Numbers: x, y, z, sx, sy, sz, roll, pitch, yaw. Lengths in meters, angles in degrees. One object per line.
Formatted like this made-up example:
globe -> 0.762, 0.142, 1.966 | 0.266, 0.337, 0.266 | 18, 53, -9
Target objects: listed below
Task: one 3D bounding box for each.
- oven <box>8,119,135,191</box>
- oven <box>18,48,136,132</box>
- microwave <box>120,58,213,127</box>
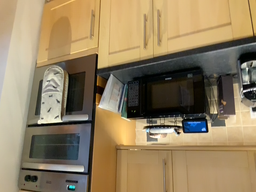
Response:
oven -> -0.370, 0.460, 1.600 | 0.630, 0.450, 0.630 | -7, 163, 27
oven -> -0.360, 0.020, 1.710 | 0.630, 0.460, 0.630 | -7, 163, 27
microwave -> 0.270, 0.020, 1.410 | 0.480, 0.310, 0.450 | -6, 163, 27
